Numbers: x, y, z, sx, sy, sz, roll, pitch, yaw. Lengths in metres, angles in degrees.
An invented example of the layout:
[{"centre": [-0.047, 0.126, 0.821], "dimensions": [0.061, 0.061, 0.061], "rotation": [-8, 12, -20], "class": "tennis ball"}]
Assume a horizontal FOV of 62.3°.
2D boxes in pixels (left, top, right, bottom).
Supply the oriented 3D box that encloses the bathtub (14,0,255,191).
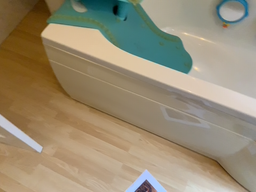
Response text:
[{"centre": [0.510, -0.070, 1.060], "dimensions": [1.690, 0.570, 0.830], "rotation": [23, 65, 11], "class": "bathtub"}]
